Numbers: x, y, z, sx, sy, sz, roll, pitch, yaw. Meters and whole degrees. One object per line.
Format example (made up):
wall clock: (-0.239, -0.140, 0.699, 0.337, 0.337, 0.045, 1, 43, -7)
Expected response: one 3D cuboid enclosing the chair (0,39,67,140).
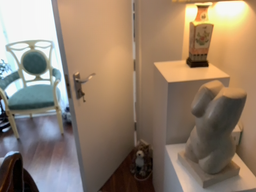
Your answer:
chair: (-1.100, -0.090, 2.490, 0.550, 1.010, 0.540, -6, 27, -9)
